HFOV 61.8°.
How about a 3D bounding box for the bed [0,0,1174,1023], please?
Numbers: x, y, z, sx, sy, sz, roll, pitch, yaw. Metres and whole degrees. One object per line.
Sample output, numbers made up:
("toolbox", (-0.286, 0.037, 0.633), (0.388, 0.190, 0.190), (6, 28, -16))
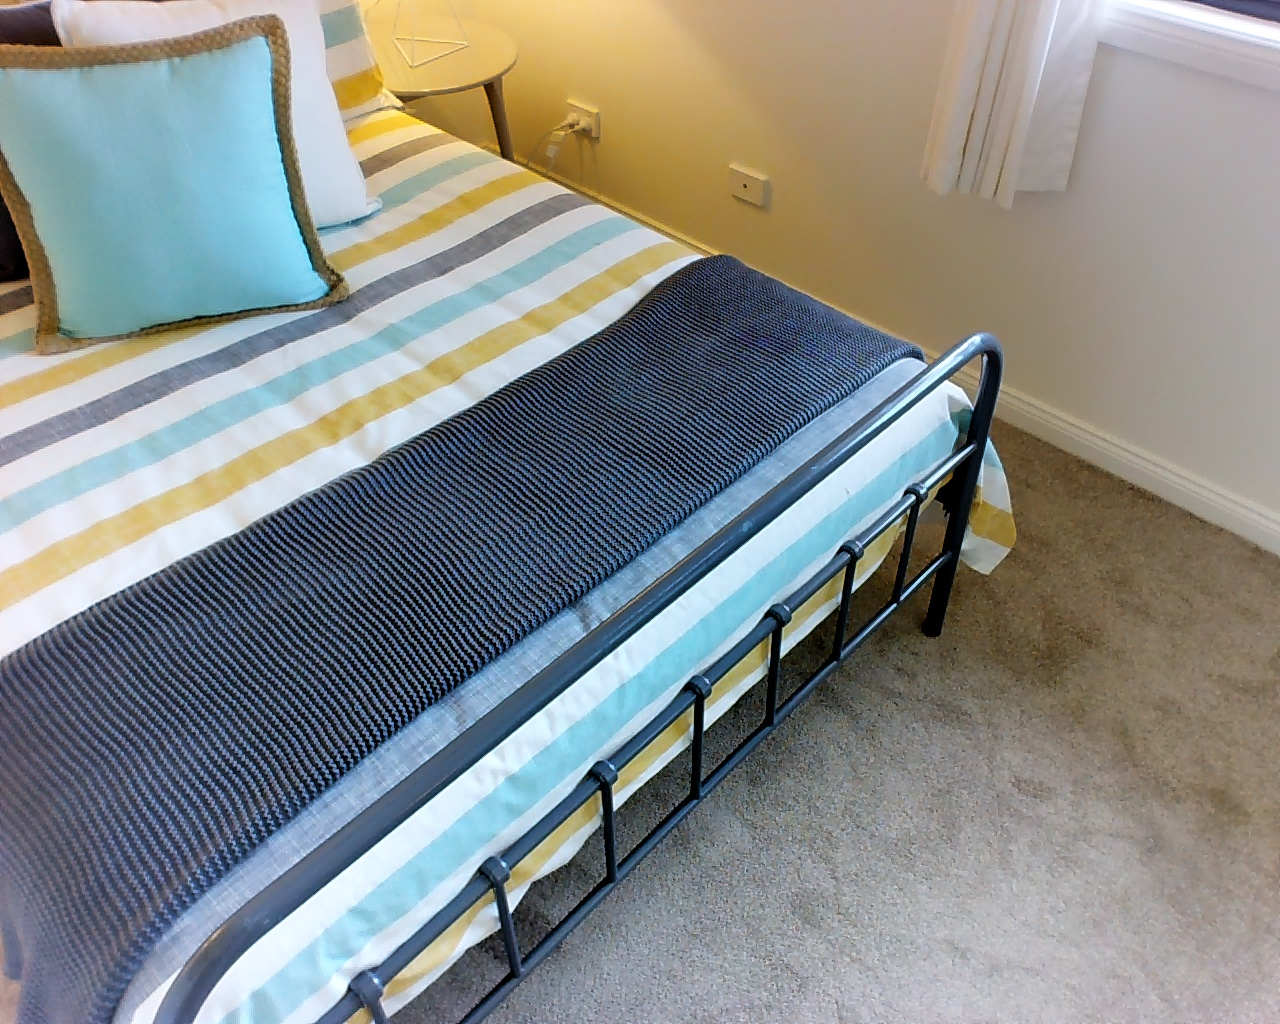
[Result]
("bed", (-0.620, -0.160, 1.850), (2.180, 0.700, 1.800), (31, 51, 28))

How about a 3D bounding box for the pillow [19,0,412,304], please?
("pillow", (-0.690, -0.670, 1.800), (0.510, 0.470, 0.260), (-23, 64, -29))

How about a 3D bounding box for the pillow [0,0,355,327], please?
("pillow", (-0.700, -0.480, 1.560), (0.510, 0.470, 0.140), (-4, 60, -21))
